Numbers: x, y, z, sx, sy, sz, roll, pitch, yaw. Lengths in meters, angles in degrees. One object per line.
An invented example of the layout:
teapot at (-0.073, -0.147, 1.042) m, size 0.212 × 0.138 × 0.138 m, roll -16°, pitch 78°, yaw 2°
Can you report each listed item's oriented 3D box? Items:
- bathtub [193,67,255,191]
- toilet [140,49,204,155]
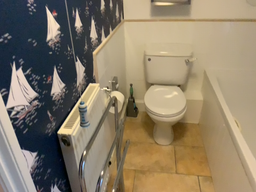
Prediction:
bathtub at (0.960, 0.370, 1.500) m, size 0.680 × 0.540 × 1.660 m, roll 2°, pitch 31°, yaw 7°
toilet at (0.360, 0.020, 1.970) m, size 0.440 × 0.730 × 0.670 m, roll 2°, pitch 30°, yaw 7°
